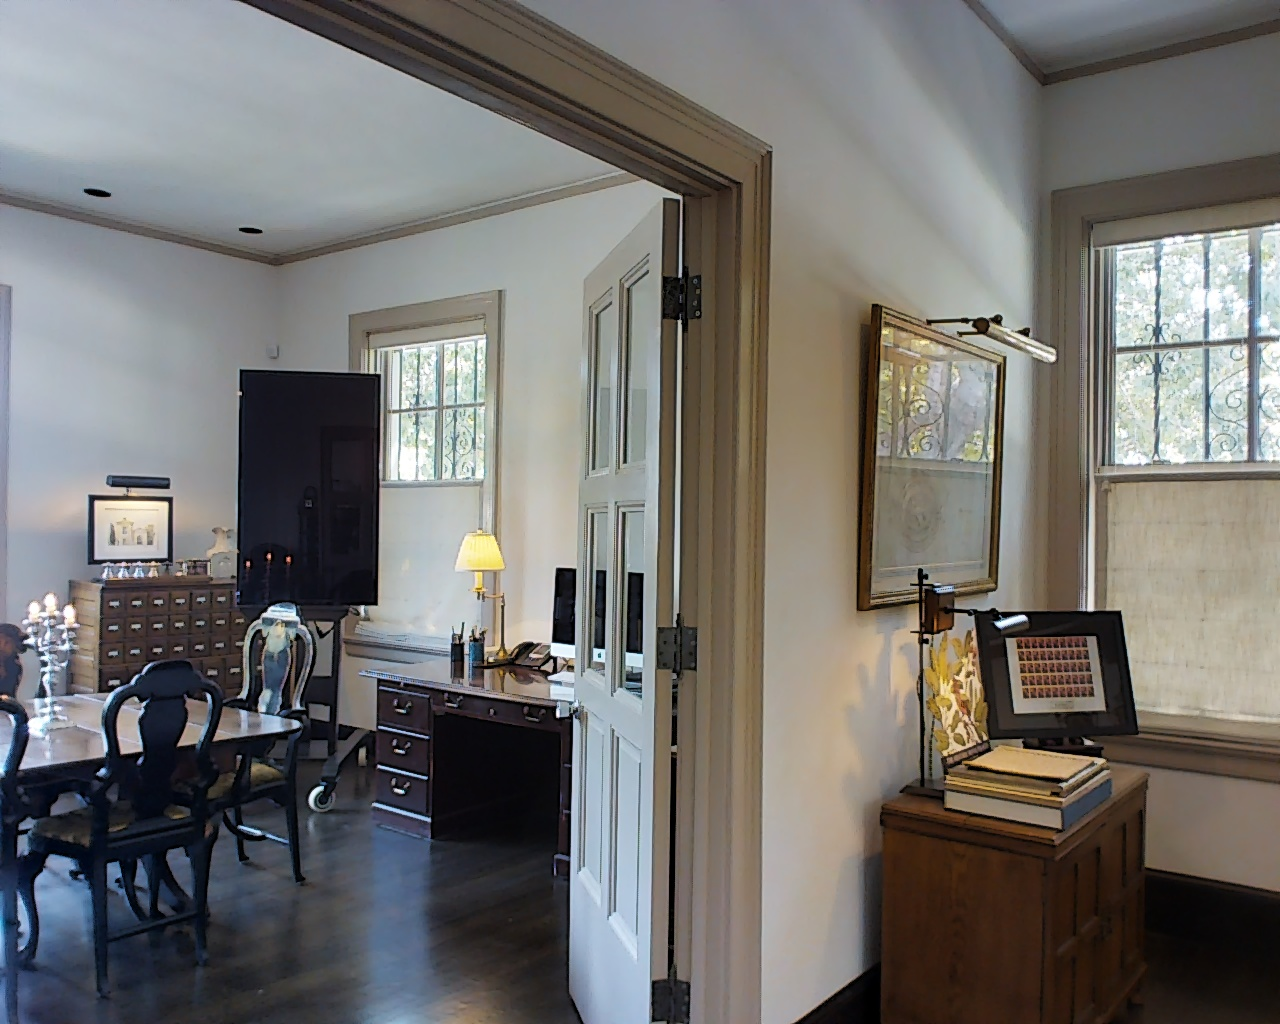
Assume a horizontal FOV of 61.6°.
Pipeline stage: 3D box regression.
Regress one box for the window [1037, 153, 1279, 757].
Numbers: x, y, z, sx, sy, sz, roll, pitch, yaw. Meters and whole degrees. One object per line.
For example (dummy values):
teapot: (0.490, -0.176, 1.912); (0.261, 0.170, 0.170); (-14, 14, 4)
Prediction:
window: (2.220, -0.200, 3.960); (1.360, 2.100, 0.350); (0, 0, 38)
